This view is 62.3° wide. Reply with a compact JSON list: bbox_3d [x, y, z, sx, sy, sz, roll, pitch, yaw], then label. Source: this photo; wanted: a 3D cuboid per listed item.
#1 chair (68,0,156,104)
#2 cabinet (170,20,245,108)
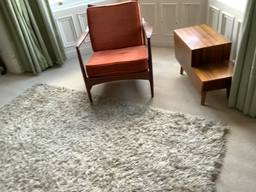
[{"bbox_3d":[-0.110,-0.470,2.090,0.630,0.710,0.780,-7,35,2],"label":"chair"},{"bbox_3d":[0.650,-0.340,1.960,0.360,0.440,0.820,-7,35,2],"label":"cabinet"}]
